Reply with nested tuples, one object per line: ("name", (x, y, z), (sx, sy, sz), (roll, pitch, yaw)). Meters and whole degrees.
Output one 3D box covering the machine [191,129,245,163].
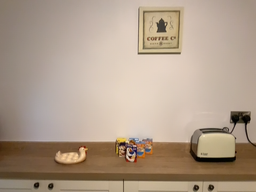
("machine", (0.630, 0.350, 1.520), (0.300, 0.180, 0.180), (0, 10, 1))
